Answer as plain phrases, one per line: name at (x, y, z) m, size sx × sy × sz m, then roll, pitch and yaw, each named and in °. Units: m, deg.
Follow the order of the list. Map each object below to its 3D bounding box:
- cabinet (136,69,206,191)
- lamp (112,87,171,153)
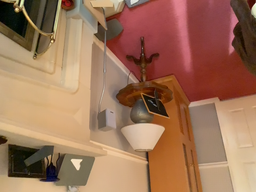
cabinet at (0.620, 0.890, 2.760) m, size 0.490 × 2.160 × 1.100 m, roll -14°, pitch 154°, yaw 23°
lamp at (0.120, 0.240, 1.900) m, size 0.380 × 0.450 × 0.390 m, roll -13°, pitch 154°, yaw 22°
